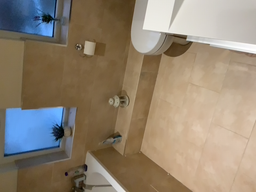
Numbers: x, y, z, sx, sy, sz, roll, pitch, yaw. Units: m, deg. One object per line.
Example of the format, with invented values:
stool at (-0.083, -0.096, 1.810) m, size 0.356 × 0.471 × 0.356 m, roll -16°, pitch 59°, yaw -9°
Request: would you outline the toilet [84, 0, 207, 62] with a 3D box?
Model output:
toilet at (0.160, -0.640, 1.620) m, size 0.400 × 0.800 × 0.630 m, roll 29°, pitch 114°, yaw 46°
